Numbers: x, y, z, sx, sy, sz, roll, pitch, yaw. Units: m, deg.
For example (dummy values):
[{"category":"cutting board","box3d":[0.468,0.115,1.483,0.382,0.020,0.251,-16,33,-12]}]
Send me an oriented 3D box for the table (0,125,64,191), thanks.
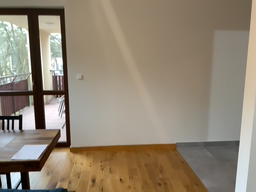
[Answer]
[{"category":"table","box3d":[-1.560,0.780,2.040,1.660,0.760,0.820,0,10,-5]}]
